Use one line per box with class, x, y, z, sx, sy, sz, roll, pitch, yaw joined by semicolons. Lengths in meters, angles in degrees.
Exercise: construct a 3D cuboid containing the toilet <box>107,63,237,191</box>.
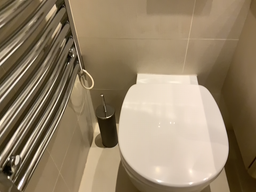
toilet;0.150;0.210;0.930;0.350;0.460;0.540;2;44;5
